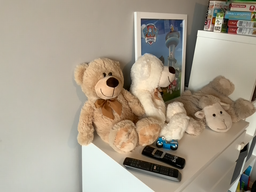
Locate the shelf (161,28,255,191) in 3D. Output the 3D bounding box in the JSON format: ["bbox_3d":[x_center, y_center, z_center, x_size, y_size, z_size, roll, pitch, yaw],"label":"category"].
[{"bbox_3d":[0.780,0.240,1.720,0.770,1.460,0.510,-17,30,-41],"label":"shelf"}]
